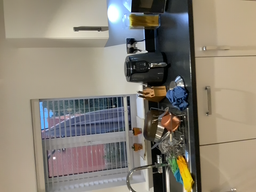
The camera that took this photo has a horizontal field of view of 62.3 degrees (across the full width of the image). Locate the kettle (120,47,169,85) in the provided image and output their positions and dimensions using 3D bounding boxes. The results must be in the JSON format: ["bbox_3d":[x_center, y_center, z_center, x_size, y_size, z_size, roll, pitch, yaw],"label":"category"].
[{"bbox_3d":[0.130,-0.250,1.850,0.330,0.330,0.270,174,92,-77],"label":"kettle"}]
